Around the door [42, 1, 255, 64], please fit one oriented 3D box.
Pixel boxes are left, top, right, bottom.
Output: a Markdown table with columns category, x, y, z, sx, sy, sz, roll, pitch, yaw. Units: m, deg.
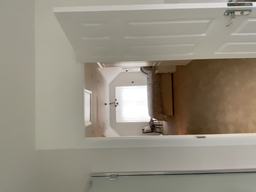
| category | x | y | z | sx | sy | sz | roll | pitch | yaw |
| --- | --- | --- | --- | --- | --- | --- | --- | --- | --- |
| door | 0.530 | -0.440 | 1.630 | 0.810 | 2.060 | 0.050 | 91 | 177 | -78 |
